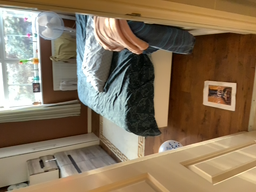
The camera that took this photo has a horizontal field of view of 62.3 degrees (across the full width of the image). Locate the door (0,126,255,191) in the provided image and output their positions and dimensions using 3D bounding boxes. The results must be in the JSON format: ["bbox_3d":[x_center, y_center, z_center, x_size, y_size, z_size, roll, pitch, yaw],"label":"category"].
[{"bbox_3d":[0.160,0.360,0.720,0.730,1.950,0.040,19,110,58],"label":"door"}]

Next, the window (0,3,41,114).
[{"bbox_3d":[-2.070,-0.590,3.500,0.210,1.080,1.760,18,109,58],"label":"window"}]
